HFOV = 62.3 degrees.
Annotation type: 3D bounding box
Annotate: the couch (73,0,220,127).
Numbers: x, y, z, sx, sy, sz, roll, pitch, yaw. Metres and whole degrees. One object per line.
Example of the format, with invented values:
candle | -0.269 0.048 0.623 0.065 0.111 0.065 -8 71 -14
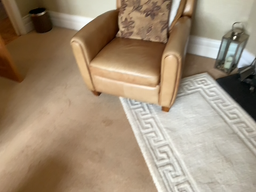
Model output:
couch | 0.250 -0.490 1.830 0.810 0.790 1.050 15 47 19
